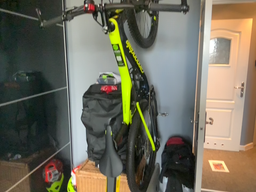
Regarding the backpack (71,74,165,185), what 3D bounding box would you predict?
[{"bbox_3d":[-0.070,0.250,1.960,0.730,0.850,0.420,3,11,16],"label":"backpack"}]
